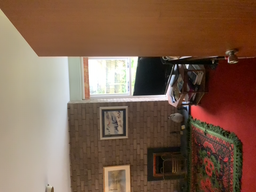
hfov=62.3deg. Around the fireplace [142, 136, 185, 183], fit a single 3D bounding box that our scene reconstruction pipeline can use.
[{"bbox_3d":[0.730,1.310,4.470,0.560,0.750,0.730,-143,53,-79],"label":"fireplace"}]
